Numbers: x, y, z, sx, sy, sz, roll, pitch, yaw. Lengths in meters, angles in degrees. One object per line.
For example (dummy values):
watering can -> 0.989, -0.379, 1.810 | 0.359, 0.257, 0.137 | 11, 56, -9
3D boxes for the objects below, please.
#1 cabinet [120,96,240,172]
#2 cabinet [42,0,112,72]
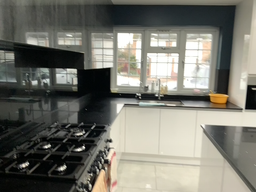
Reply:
cabinet -> 0.730, 0.540, 3.380 | 1.600, 0.900, 0.790 | 2, 9, 5
cabinet -> -0.520, -0.840, 2.700 | 0.370, 0.980, 1.590 | 2, 9, 5
